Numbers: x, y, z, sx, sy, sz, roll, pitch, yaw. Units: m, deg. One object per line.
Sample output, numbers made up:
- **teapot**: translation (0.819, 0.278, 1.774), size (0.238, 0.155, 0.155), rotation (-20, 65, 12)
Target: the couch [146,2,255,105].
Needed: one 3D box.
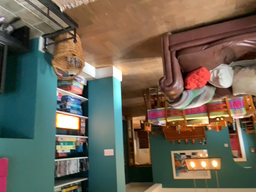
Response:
- **couch**: translation (1.090, -0.410, 2.530), size (1.460, 0.720, 0.940), rotation (-9, 165, 22)

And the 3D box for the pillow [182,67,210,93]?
- **pillow**: translation (0.820, -0.180, 2.550), size (0.270, 0.190, 0.350), rotation (-8, 166, 21)

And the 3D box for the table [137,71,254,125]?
- **table**: translation (1.430, 0.130, 4.800), size (2.240, 0.780, 0.860), rotation (-8, 166, 21)
